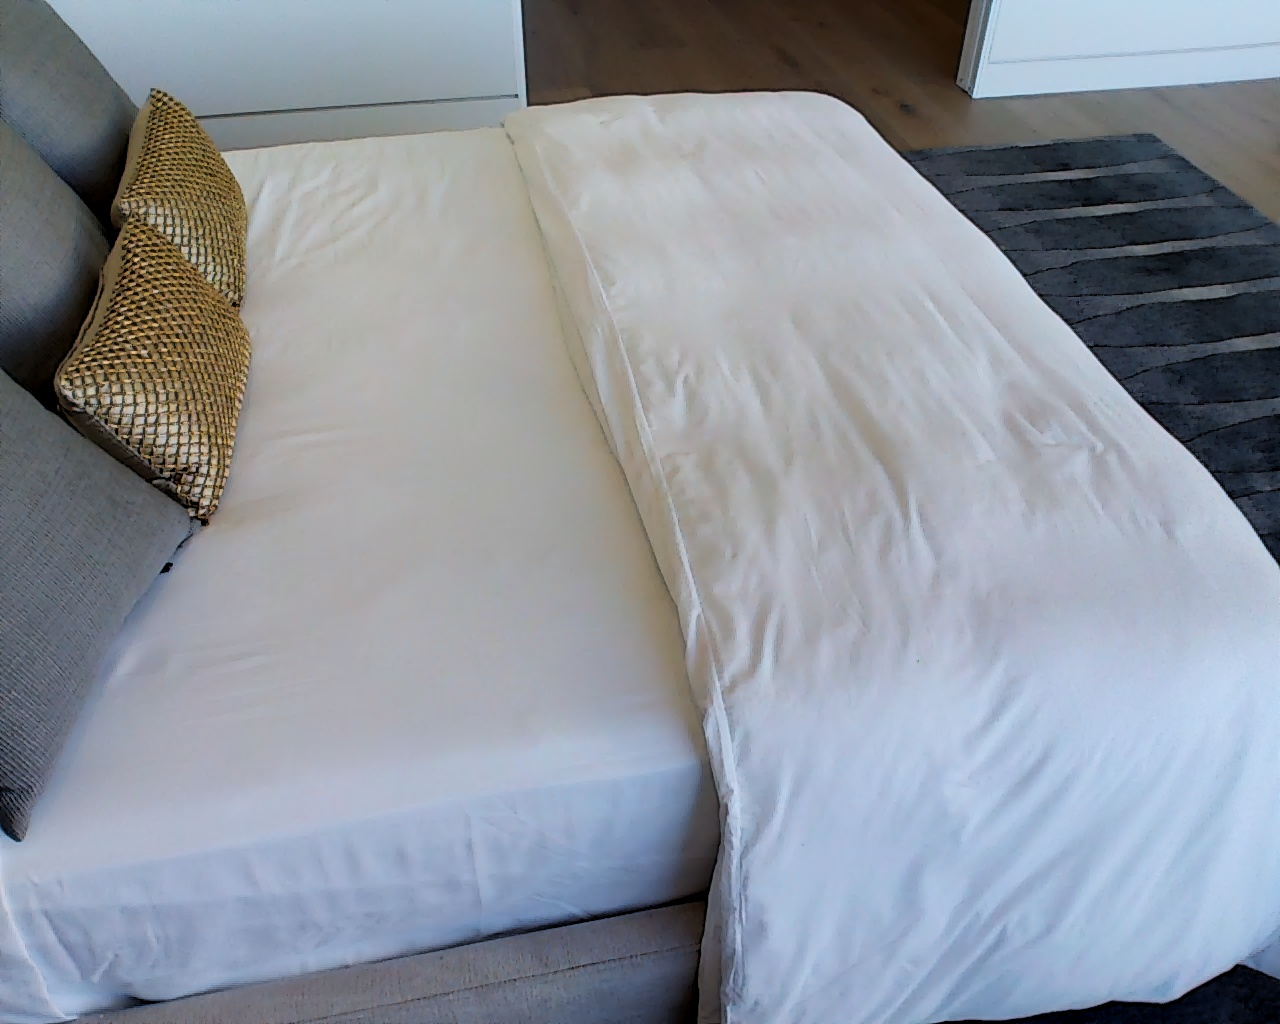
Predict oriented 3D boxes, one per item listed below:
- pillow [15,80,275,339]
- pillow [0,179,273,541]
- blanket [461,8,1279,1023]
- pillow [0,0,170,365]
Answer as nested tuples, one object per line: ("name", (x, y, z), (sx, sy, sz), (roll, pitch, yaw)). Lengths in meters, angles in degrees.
("pillow", (-0.820, -0.530, 1.830), (0.320, 0.220, 0.450), (-11, 43, -13))
("pillow", (-0.720, -0.230, 1.490), (0.350, 0.240, 0.480), (-8, 43, -10))
("blanket", (0.370, -0.180, 2.030), (1.120, 0.700, 2.370), (-8, 43, -10))
("pillow", (-0.990, -0.640, 1.810), (0.250, 0.440, 0.700), (-11, 43, -13))
